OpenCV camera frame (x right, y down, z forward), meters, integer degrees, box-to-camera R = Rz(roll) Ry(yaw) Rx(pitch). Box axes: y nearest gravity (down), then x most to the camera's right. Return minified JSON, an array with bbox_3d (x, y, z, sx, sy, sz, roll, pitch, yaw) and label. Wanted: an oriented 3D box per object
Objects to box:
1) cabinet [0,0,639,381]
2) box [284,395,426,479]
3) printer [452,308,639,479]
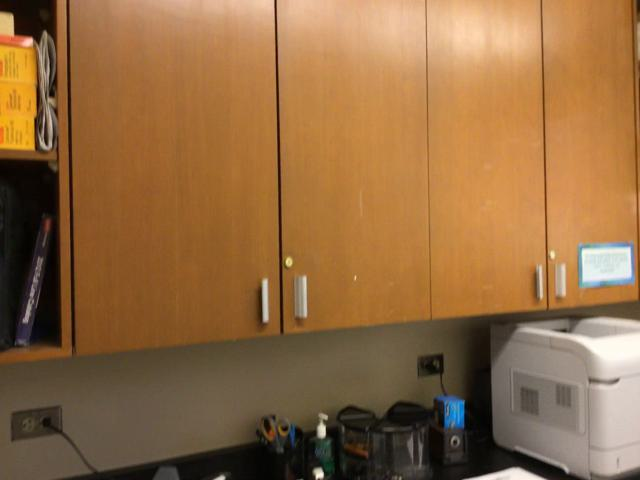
[{"bbox_3d":[0.270,-0.400,1.680,2.140,1.270,0.350,-2,-2,-25],"label":"cabinet"},{"bbox_3d":[0.090,0.590,1.650,0.290,0.190,0.300,-2,-2,-25],"label":"box"},{"bbox_3d":[0.800,0.460,1.840,0.470,0.410,0.570,-2,-2,-25],"label":"printer"}]
